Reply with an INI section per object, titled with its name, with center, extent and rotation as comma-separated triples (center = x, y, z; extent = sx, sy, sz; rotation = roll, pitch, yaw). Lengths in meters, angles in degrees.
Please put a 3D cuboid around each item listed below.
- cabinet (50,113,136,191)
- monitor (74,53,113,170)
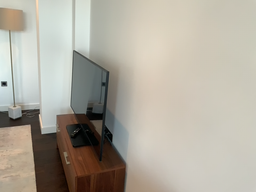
[cabinet]
center = -0.460, 0.650, 2.170
extent = 0.510, 0.470, 1.270
rotation = -3, 20, -25
[monitor]
center = -0.390, 0.040, 2.070
extent = 0.070, 0.760, 1.150
rotation = -2, 19, -23
